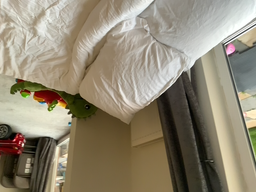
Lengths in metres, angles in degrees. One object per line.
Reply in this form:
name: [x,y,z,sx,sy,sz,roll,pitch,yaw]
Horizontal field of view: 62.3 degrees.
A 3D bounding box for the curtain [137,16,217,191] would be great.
curtain: [0.280,0.490,1.210,0.200,2.140,0.360,16,150,-31]
